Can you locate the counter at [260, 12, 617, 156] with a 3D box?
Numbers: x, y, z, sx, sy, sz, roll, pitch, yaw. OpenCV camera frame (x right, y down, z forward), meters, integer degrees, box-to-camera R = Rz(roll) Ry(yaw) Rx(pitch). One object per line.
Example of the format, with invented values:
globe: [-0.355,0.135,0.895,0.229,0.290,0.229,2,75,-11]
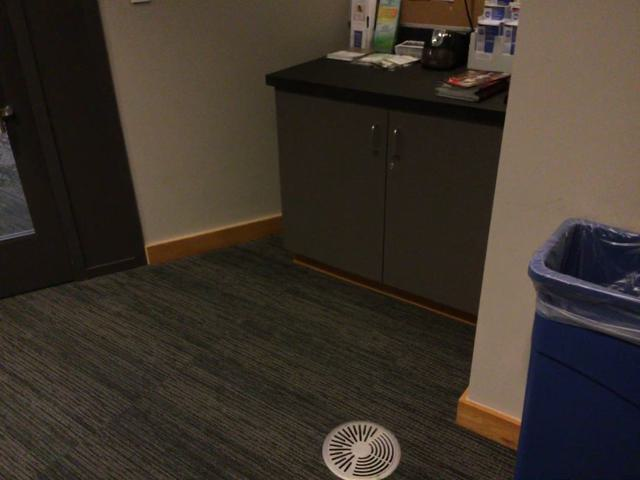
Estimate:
counter: [0.390,-0.620,2.090,1.090,0.240,0.600,21,34,32]
